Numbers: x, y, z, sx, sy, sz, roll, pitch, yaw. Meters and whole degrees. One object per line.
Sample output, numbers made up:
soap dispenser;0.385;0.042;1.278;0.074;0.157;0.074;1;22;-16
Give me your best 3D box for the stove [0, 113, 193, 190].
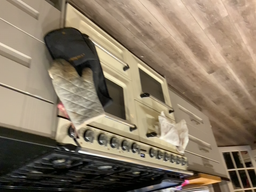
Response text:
stove;-0.120;0.440;1.330;0.610;0.170;1.100;-27;145;29
